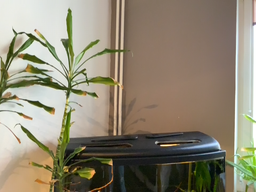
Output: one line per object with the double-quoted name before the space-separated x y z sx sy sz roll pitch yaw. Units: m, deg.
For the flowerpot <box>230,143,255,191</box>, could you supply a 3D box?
"flowerpot" 0.940 0.590 1.560 0.320 0.400 0.280 1 -1 21
